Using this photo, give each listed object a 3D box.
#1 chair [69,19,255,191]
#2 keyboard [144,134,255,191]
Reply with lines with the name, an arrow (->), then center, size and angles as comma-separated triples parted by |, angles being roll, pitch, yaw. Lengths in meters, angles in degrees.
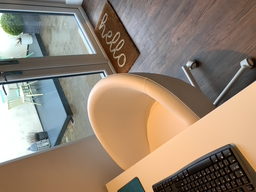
chair -> 0.260, 0.110, 1.160 | 0.680, 0.810, 0.710 | 61, 142, 20
keyboard -> 0.220, 0.290, 0.720 | 0.130, 0.060, 0.460 | 61, 141, 20
